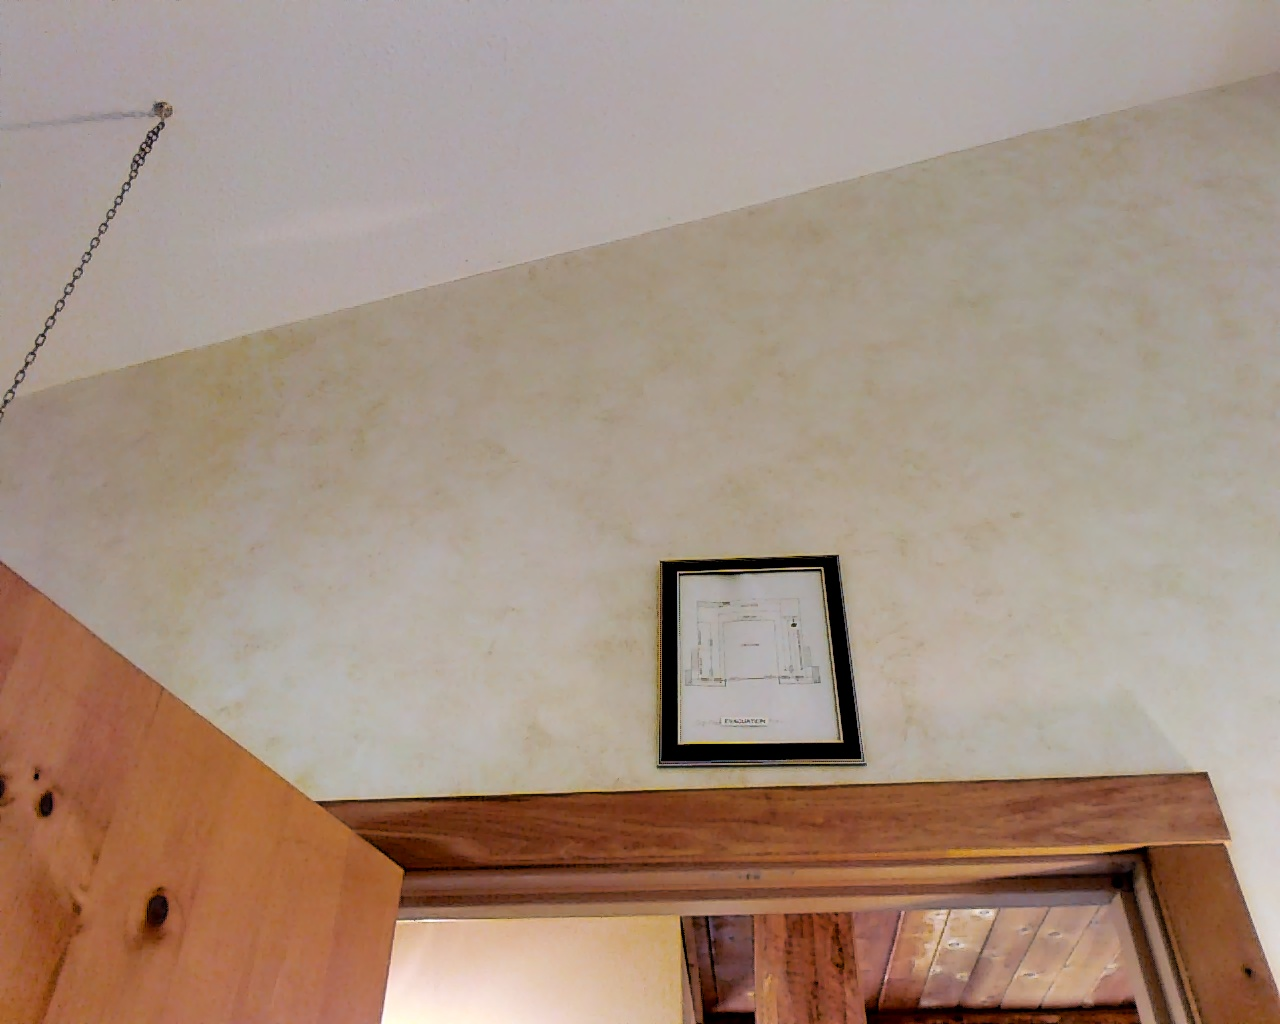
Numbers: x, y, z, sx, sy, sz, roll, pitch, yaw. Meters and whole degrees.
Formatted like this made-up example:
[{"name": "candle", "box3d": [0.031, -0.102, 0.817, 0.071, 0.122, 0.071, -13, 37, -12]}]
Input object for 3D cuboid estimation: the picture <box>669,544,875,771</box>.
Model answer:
[{"name": "picture", "box3d": [0.170, 0.190, 1.470, 0.250, 0.330, 0.030, -4, -40, 4]}]
